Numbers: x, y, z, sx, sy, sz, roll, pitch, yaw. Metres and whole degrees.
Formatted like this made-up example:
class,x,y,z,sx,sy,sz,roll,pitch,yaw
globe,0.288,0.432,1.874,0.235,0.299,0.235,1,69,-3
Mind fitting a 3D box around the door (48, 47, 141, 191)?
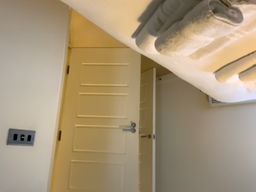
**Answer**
class,x,y,z,sx,sy,sz,roll,pitch,yaw
door,-0.330,0.400,2.200,0.880,1.970,0.040,0,165,7
